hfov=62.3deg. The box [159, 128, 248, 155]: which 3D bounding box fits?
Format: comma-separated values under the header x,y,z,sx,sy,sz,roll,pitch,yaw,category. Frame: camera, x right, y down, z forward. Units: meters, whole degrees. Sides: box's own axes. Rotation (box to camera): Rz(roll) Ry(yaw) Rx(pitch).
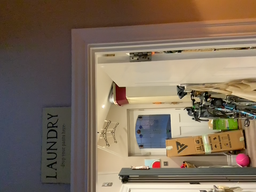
x,y,z,sx,sy,sz,roll,pitch,yaw,category
1.350,0.890,4.050,0.680,1.460,0.390,78,-169,-68,box
